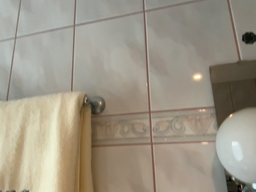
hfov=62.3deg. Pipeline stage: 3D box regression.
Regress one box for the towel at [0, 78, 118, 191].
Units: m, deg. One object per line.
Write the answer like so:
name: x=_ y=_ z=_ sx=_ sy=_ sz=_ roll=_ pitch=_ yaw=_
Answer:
towel: x=-0.200 y=0.200 z=0.530 sx=0.310 sy=0.420 sz=0.170 roll=-6 pitch=-17 yaw=15
